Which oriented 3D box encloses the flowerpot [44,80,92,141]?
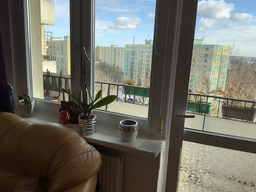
[{"bbox_3d":[-0.510,0.110,1.790,0.370,0.430,0.160,10,14,27],"label":"flowerpot"}]
